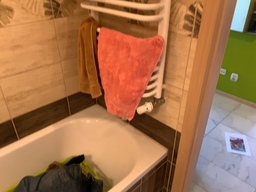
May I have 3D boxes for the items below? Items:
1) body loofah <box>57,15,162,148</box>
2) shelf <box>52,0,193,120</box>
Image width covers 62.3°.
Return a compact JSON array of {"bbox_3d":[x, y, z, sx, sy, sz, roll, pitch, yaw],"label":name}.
[{"bbox_3d":[-0.120,-0.110,1.160,0.200,0.530,0.560,-25,40,-36],"label":"body loofah"},{"bbox_3d":[-0.050,-0.560,0.880,0.590,1.170,0.310,27,40,35],"label":"shelf"}]
